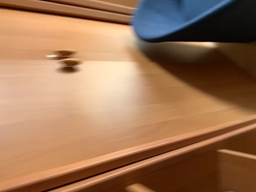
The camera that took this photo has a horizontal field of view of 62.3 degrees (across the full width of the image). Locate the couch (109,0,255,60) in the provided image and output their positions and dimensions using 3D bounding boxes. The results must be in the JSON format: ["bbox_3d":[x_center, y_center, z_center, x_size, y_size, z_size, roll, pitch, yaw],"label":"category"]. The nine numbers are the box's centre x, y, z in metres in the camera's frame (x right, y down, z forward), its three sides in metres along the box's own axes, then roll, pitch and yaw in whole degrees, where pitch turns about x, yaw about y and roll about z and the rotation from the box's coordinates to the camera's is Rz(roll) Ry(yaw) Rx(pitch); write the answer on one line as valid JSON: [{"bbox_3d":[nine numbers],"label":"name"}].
[{"bbox_3d":[0.380,-0.530,1.010,0.490,0.700,0.560,41,126,44],"label":"couch"}]
